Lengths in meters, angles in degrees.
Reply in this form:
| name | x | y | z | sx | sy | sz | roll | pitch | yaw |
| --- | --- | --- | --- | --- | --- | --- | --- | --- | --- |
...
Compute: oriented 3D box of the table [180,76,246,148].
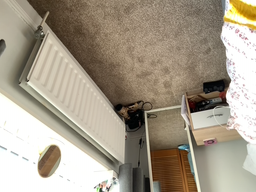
| name | x | y | z | sx | sy | sz | roll | pitch | yaw |
| --- | --- | --- | --- | --- | --- | --- | --- | --- | --- |
| table | 0.750 | 0.160 | 1.890 | 0.420 | 0.400 | 0.430 | -15 | 141 | 18 |
